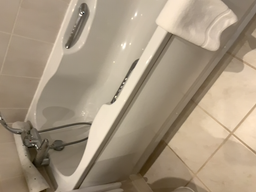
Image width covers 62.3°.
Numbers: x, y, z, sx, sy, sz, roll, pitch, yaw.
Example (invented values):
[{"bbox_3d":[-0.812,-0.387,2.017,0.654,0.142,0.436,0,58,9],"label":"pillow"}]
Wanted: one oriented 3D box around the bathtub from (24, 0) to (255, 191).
[{"bbox_3d":[0.060,-0.280,1.200,0.700,0.580,1.760,46,117,34],"label":"bathtub"}]
